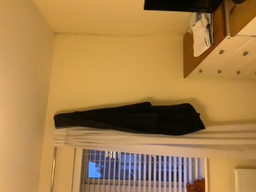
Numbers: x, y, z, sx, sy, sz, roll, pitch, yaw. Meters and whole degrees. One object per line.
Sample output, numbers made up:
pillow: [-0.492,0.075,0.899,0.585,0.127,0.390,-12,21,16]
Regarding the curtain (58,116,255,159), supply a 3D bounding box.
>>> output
curtain: [0.510,0.370,1.840,0.200,2.140,0.290,95,177,-79]
